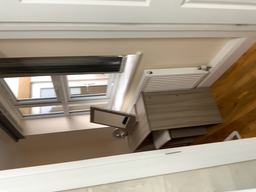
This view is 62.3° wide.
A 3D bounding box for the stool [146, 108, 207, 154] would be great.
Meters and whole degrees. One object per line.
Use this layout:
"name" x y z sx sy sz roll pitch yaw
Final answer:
"stool" 0.550 0.450 2.610 0.710 0.450 0.300 110 152 -61
